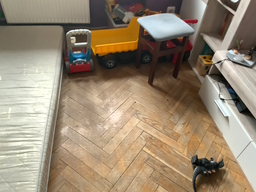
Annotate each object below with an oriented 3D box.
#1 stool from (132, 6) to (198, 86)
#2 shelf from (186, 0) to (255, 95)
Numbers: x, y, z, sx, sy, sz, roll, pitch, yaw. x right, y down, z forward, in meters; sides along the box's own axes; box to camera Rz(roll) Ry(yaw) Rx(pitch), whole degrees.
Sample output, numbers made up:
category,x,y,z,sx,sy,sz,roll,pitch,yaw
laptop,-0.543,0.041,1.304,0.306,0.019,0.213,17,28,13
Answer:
category,x,y,z,sx,sy,sz,roll,pitch,yaw
stool,0.270,-0.420,1.790,0.320,0.500,0.390,-10,47,-16
shelf,0.830,-0.640,1.500,0.330,1.320,0.450,-3,46,-10
